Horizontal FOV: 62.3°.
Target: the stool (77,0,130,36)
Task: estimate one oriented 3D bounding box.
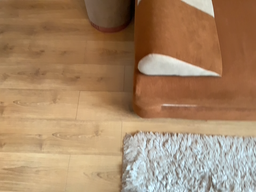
[{"bbox_3d":[-0.140,-0.670,1.380,0.300,0.410,0.340,2,65,0],"label":"stool"}]
